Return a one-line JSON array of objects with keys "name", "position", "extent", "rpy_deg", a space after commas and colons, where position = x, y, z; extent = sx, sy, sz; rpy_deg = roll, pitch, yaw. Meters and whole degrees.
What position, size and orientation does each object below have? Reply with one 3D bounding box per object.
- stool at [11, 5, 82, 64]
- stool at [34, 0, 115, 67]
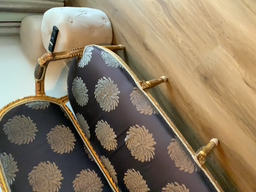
[{"name": "stool", "position": [-0.730, -0.570, 1.930], "extent": [0.380, 0.450, 0.400], "rpy_deg": [30, 123, 33]}, {"name": "stool", "position": [-0.420, -0.510, 1.660], "extent": [0.390, 0.440, 0.390], "rpy_deg": [30, 123, 33]}]
